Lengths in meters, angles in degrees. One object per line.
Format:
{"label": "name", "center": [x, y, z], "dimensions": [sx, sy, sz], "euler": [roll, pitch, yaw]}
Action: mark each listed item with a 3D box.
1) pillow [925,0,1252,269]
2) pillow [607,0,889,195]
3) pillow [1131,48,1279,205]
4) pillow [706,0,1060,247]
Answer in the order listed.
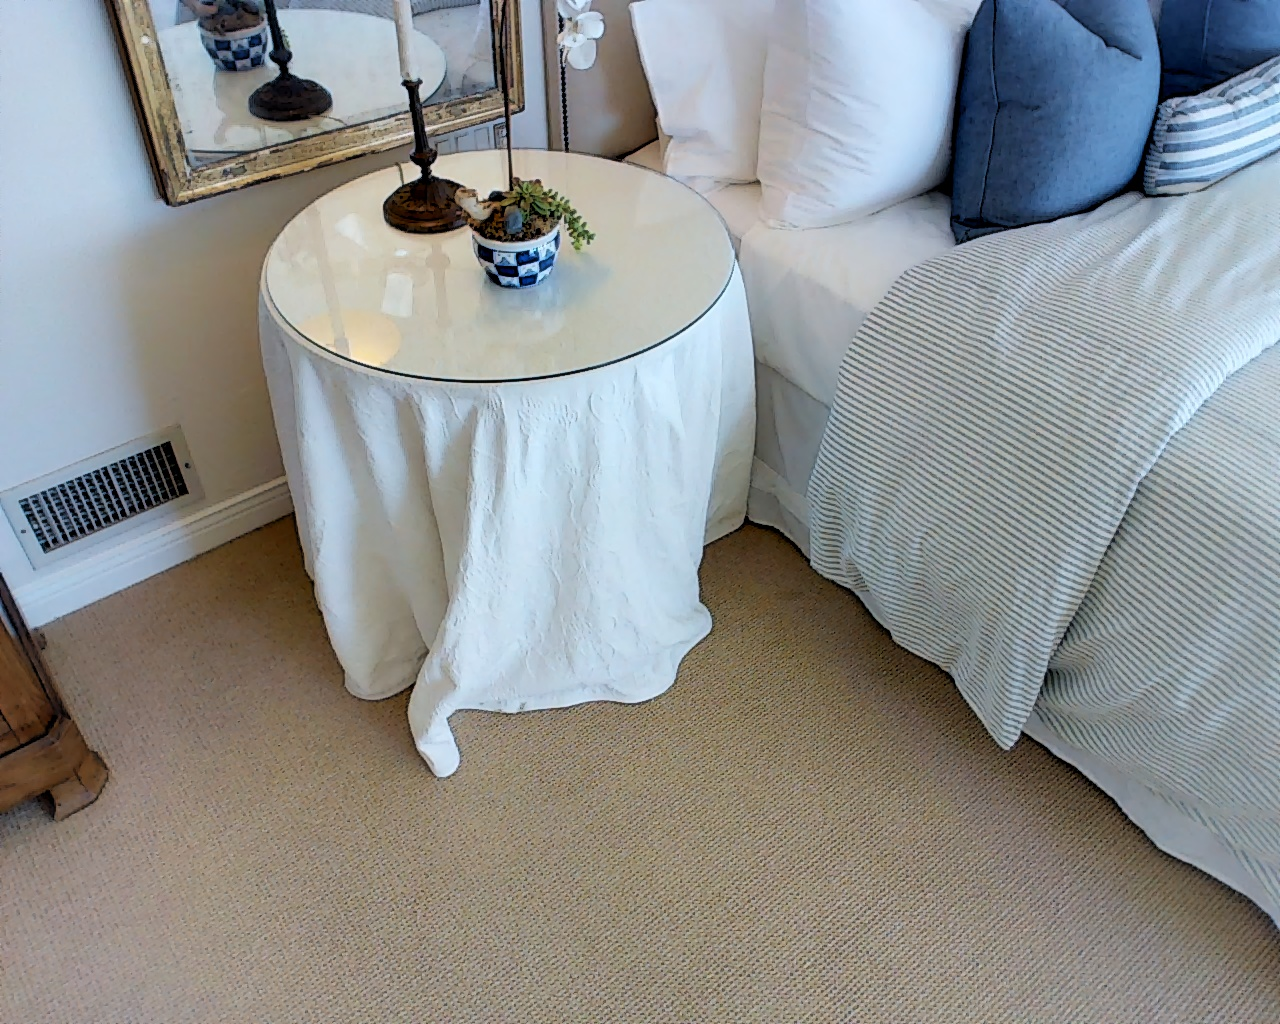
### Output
{"label": "pillow", "center": [0.810, -0.760, 1.960], "dimensions": [0.440, 0.440, 0.270], "euler": [-27, 48, -27]}
{"label": "pillow", "center": [0.220, -0.920, 2.210], "dimensions": [0.520, 0.320, 0.260], "euler": [-28, 49, -28]}
{"label": "pillow", "center": [1.160, -0.750, 2.060], "dimensions": [0.470, 0.160, 0.130], "euler": [-27, 48, -27]}
{"label": "pillow", "center": [0.460, -0.890, 2.060], "dimensions": [0.490, 0.500, 0.420], "euler": [-30, 50, -29]}
